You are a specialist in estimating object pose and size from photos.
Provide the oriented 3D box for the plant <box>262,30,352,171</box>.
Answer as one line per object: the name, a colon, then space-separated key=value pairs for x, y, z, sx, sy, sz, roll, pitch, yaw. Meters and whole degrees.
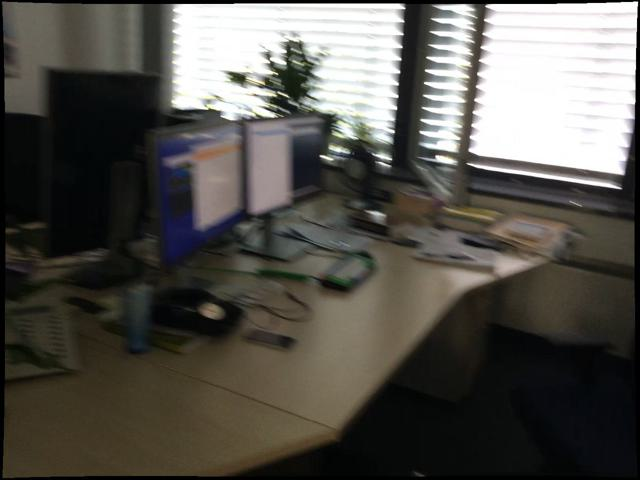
plant: x=-0.080 y=-0.821 z=3.370 sx=0.370 sy=0.741 sz=0.360 roll=13 pitch=21 yaw=28

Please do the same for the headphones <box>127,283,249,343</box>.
headphones: x=-0.330 y=0.180 z=1.460 sx=0.270 sy=0.050 sz=0.130 roll=9 pitch=20 yaw=14

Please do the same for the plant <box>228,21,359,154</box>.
plant: x=-0.160 y=-0.931 z=3.480 sx=0.600 sy=0.691 sz=0.480 roll=13 pitch=21 yaw=28
